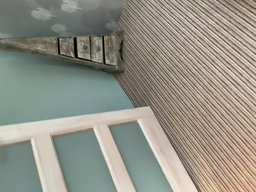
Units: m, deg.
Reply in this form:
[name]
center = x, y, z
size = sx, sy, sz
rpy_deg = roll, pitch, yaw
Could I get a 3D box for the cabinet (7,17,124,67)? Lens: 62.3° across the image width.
[cabinet]
center = -0.450, -0.390, 1.710
size = 0.220, 0.880, 0.300
rpy_deg = 10, 102, 50
